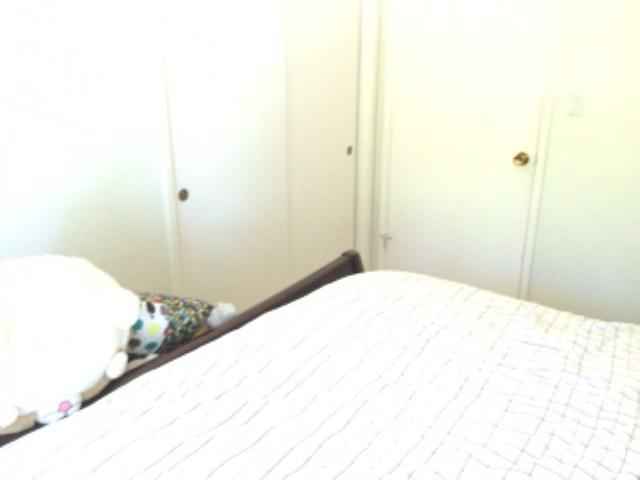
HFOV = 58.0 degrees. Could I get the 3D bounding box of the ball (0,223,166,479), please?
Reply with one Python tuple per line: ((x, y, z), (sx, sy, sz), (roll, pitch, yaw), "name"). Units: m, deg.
((-0.660, 0.240, 1.220), (0.440, 0.390, 0.430), (13, 24, 36), "ball")
